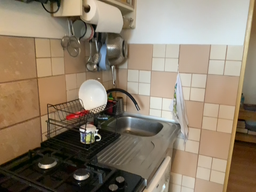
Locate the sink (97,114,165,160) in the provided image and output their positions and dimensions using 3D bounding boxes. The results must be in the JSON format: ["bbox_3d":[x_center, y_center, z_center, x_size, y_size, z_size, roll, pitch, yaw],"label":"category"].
[{"bbox_3d":[0.030,0.280,1.560,0.380,0.150,0.350,8,14,24],"label":"sink"}]

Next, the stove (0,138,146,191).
[{"bbox_3d":[-0.310,0.340,0.740,0.570,0.060,0.590,8,14,24],"label":"stove"}]

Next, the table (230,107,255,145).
[{"bbox_3d":[1.980,0.490,3.520,0.430,0.500,0.350,7,13,22],"label":"table"}]
